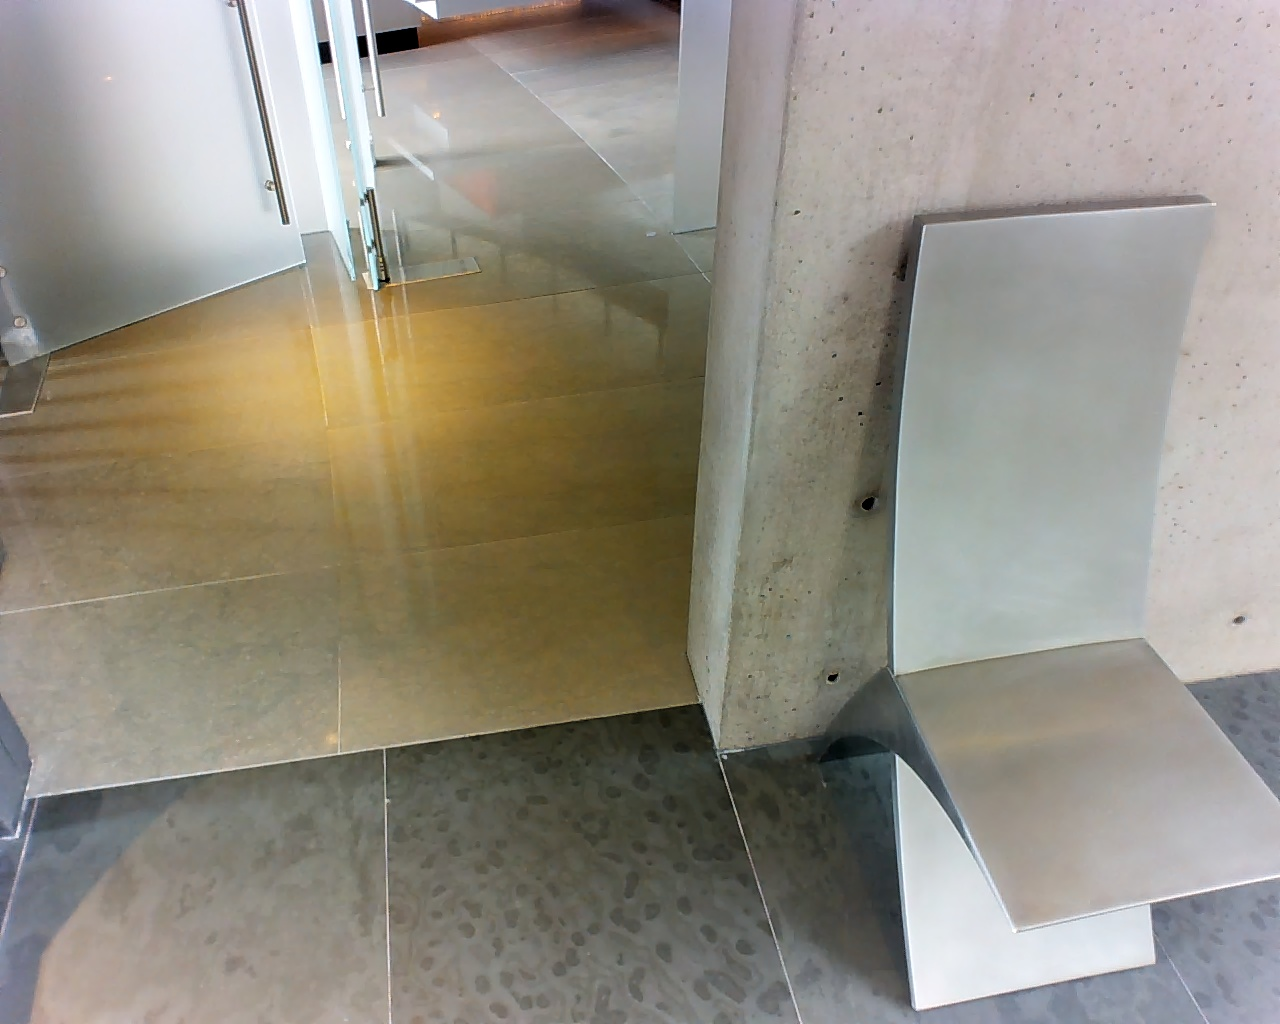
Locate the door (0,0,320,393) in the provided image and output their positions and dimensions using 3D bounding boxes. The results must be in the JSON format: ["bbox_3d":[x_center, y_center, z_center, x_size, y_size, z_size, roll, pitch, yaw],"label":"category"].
[{"bbox_3d":[-1.300,-1.360,2.550,0.120,2.170,0.720,30,49,29],"label":"door"}]
